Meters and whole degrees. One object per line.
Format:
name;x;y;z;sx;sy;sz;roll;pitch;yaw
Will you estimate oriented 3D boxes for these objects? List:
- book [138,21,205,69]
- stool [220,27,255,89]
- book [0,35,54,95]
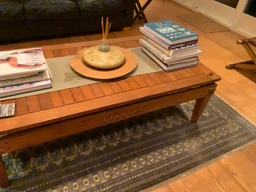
book;0.270;-0.350;1.390;0.260;0.150;0.330;-15;44;-25
stool;1.380;-0.360;2.050;0.540;0.380;0.610;-14;44;-24
book;-0.590;-0.170;1.080;0.330;0.120;0.350;-13;43;-23
